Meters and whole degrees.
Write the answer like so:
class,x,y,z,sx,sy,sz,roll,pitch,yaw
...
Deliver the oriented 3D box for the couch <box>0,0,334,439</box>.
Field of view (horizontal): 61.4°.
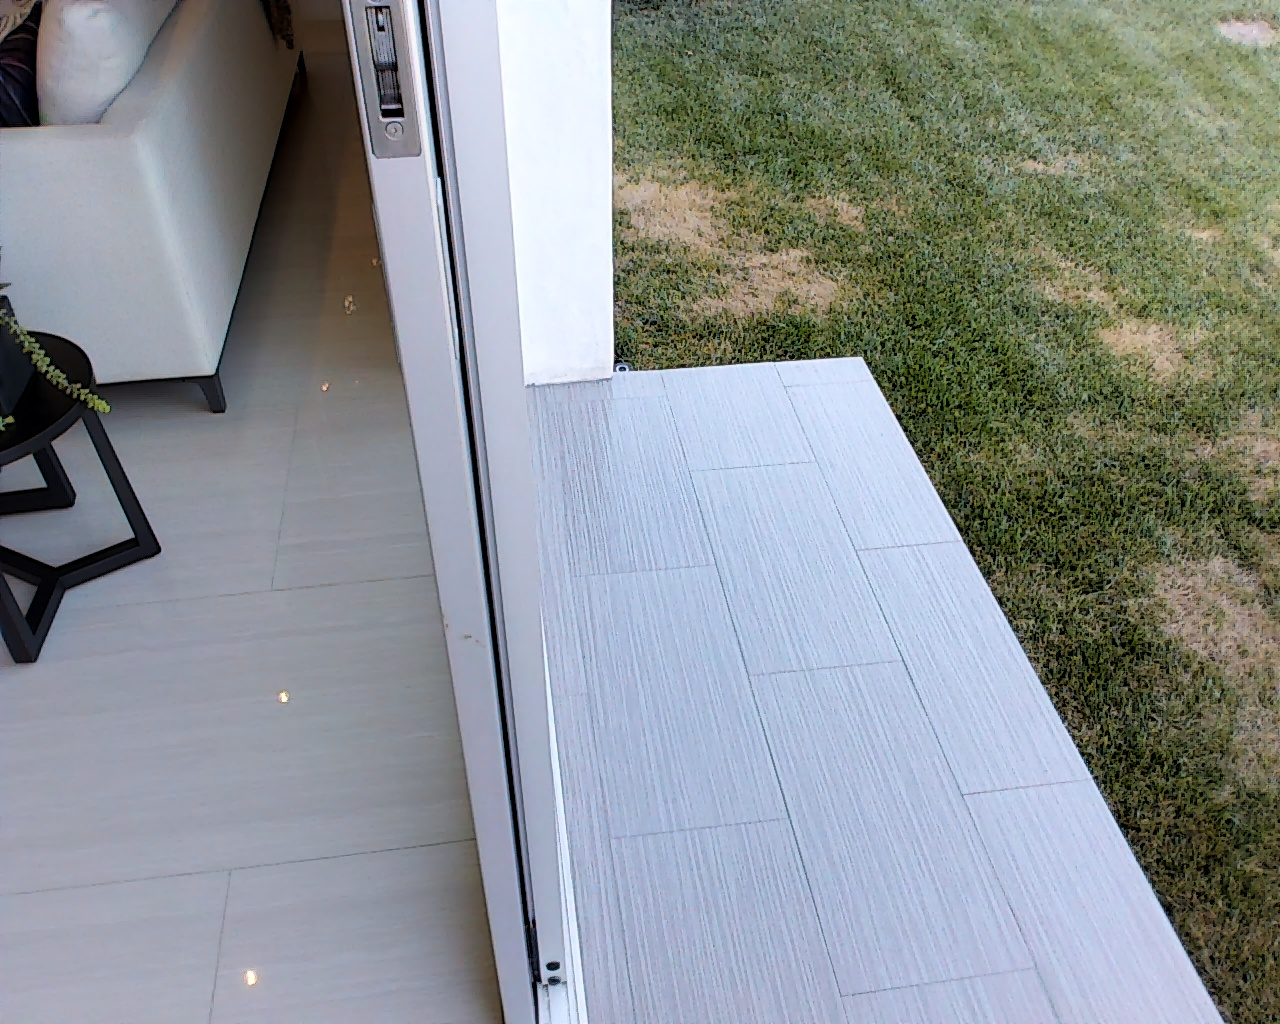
class,x,y,z,sx,sy,sz,roll,pitch,yaw
couch,-1.580,-1.260,3.080,1.060,0.870,2.320,-5,42,-6
